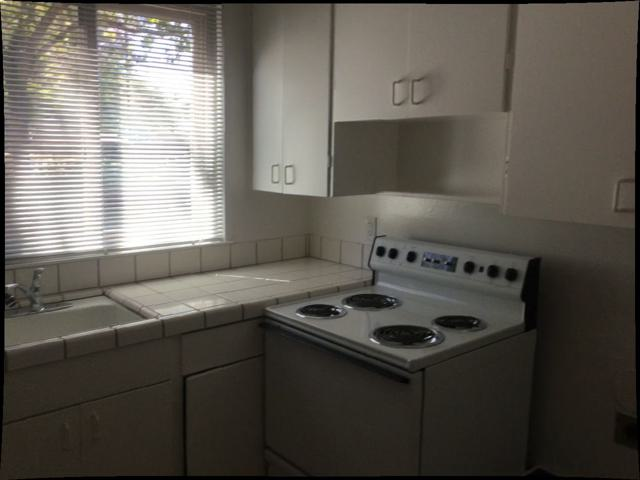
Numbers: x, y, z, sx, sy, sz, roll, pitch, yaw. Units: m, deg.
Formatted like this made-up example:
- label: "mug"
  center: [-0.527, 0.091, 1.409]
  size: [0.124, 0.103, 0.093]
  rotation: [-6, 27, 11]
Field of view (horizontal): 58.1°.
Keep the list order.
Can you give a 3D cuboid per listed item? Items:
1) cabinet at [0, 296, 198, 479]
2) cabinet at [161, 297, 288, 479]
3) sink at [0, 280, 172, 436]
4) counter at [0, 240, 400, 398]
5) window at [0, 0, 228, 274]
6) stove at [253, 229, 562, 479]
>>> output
- label: "cabinet"
  center: [-0.968, 0.761, 1.830]
  size: [1.139, 0.931, 0.260]
  rotation: [-9, 15, -39]
- label: "cabinet"
  center: [-0.339, 0.711, 2.190]
  size: [0.470, 0.921, 0.090]
  rotation: [-9, 15, -39]
- label: "sink"
  center: [-0.928, 0.371, 2.000]
  size: [0.609, 0.250, 0.570]
  rotation: [-9, 15, -39]
- label: "counter"
  center: [-0.679, 0.250, 2.180]
  size: [2.138, 0.140, 0.670]
  rotation: [-9, 15, -39]
- label: "window"
  center: [-0.968, -0.461, 2.280]
  size: [1.249, 1.082, 0.190]
  rotation: [-9, 15, -39]
- label: "stove"
  center: [0.290, 0.611, 2.190]
  size: [0.739, 1.122, 0.819]
  rotation: [-9, 15, -39]
